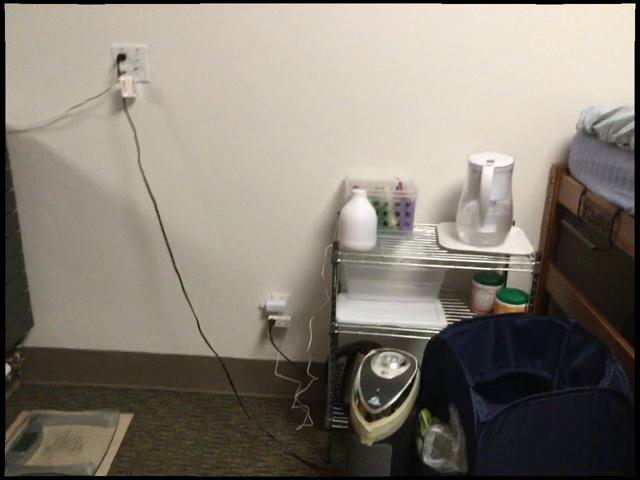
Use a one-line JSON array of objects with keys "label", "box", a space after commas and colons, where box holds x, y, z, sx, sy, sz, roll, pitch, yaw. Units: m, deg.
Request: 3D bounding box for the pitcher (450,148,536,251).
[{"label": "pitcher", "box": [0.519, -0.130, 1.770, 0.160, 0.250, 0.250, 2, 21, -1]}]

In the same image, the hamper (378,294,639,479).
[{"label": "hamper", "box": [0.489, 0.551, 1.470, 0.529, 0.651, 0.490, -2, 21, -11]}]
